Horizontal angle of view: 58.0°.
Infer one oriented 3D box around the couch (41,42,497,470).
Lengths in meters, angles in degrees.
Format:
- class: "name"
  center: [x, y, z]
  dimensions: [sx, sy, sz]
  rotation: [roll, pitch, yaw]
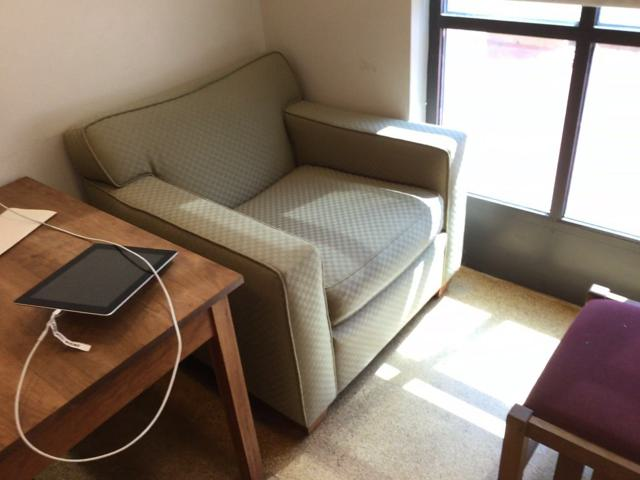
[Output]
- class: "couch"
  center: [-0.080, -0.080, 1.770]
  dimensions: [0.840, 0.780, 0.930]
  rotation: [18, 37, 35]
